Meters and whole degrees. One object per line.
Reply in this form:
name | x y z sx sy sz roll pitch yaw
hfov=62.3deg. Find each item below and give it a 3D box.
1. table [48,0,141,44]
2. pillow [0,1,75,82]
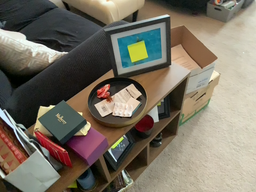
table | -0.410 -1.050 2.340 0.500 0.360 1.050 -39 58 -24
pillow | -0.590 -0.250 1.120 0.420 0.410 0.180 3 69 22
